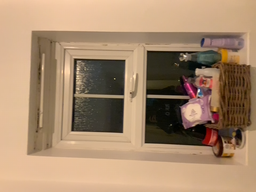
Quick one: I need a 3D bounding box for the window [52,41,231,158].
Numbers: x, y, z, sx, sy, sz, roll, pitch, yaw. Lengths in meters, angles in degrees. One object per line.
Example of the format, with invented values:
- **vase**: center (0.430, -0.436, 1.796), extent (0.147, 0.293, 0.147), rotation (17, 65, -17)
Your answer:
- **window**: center (0.070, 0.010, 1.160), extent (0.080, 0.930, 0.590), rotation (46, -135, -87)
